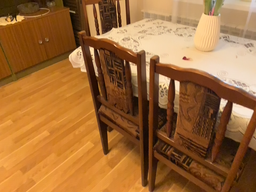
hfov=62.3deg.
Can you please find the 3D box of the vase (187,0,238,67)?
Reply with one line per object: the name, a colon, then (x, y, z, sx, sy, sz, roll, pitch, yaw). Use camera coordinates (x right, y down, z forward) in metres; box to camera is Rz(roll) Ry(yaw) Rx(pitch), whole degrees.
vase: (0.470, -0.480, 1.130, 0.160, 0.600, 0.190, 24, 44, 31)
